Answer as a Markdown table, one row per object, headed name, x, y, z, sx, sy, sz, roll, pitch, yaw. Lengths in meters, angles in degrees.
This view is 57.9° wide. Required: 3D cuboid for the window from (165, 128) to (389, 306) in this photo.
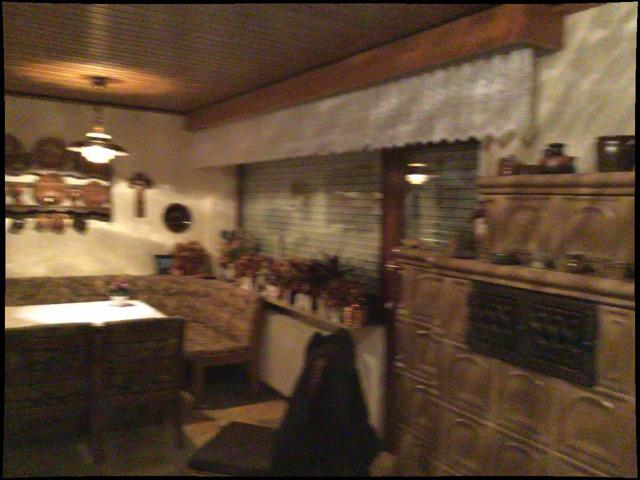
| name | x | y | z | sx | sy | sz | roll | pitch | yaw |
| --- | --- | --- | --- | --- | --- | --- | --- | --- | --- |
| window | -0.519 | -0.230 | 4.570 | 0.460 | 1.041 | 2.609 | -3 | 6 | -35 |
